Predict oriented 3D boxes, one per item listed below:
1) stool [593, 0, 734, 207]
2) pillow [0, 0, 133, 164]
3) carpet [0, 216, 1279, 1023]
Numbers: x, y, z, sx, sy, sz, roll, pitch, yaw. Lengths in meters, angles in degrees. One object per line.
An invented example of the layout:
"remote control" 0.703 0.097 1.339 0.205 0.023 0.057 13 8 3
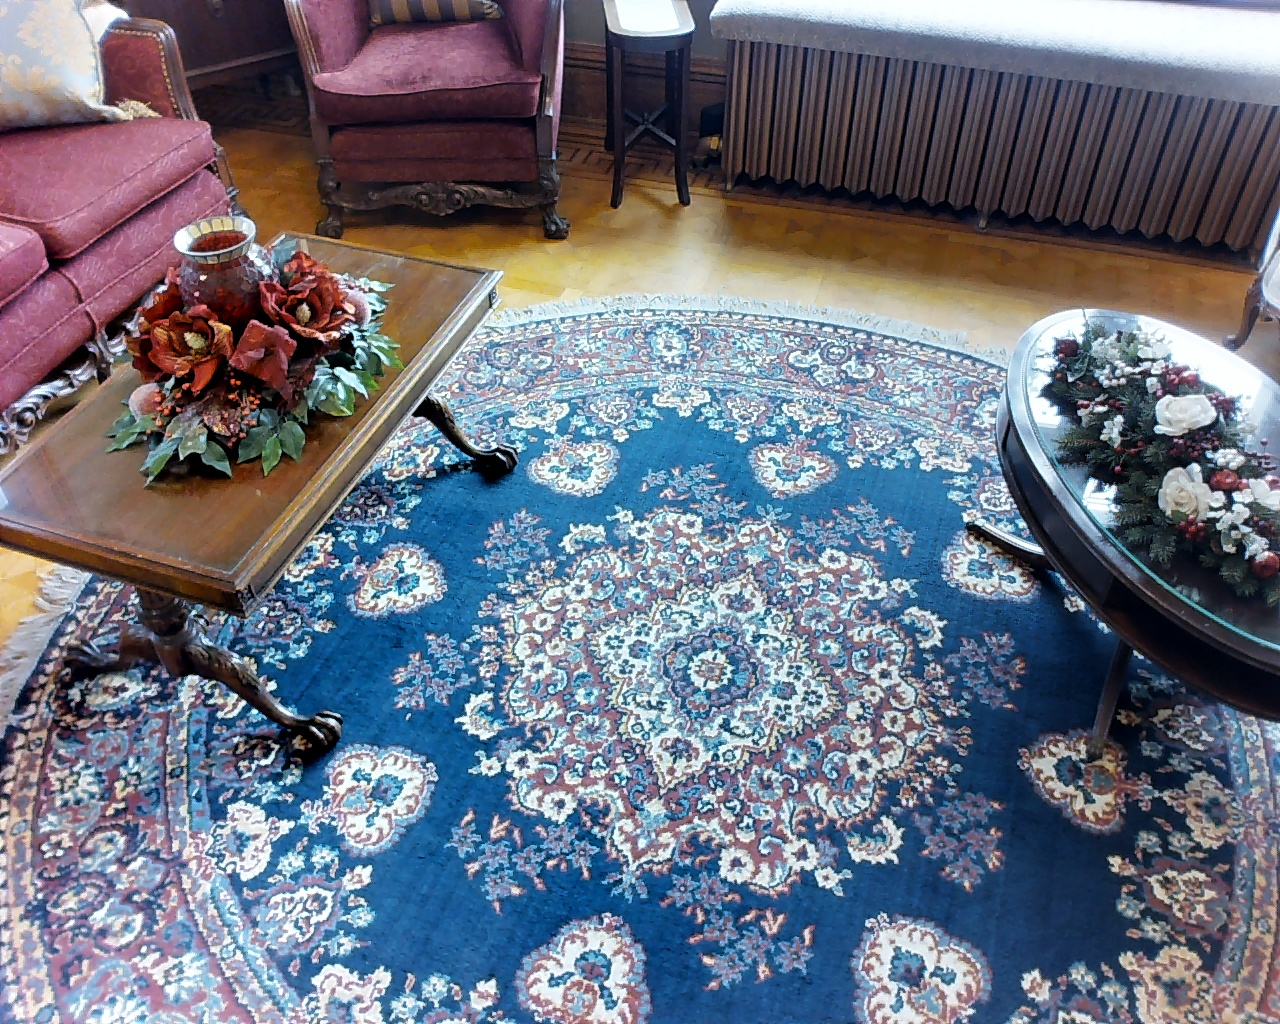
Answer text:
"stool" 0.070 -1.320 3.310 0.380 0.510 0.620 1 43 1
"pillow" -1.440 -1.090 2.500 0.420 0.420 0.210 9 5 -23
"carpet" 0.120 0.230 2.040 2.570 0.020 2.630 11 44 12
